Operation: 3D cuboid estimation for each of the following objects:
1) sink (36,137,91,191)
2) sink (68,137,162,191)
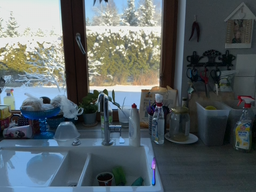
[{"bbox_3d":[-0.290,0.400,1.070,0.120,0.190,0.500,0,14,0],"label":"sink"},{"bbox_3d":[-0.050,0.400,1.070,0.360,0.190,0.500,0,14,0],"label":"sink"}]
